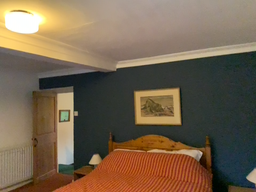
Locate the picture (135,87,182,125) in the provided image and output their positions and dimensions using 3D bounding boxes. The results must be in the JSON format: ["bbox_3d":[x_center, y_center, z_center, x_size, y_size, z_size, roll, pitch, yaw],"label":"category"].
[{"bbox_3d":[0.460,0.160,3.360,0.760,0.570,0.030,-3,-3,27],"label":"picture"}]

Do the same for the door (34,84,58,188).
[{"bbox_3d":[-1.760,0.800,4.600,0.070,2.080,0.690,-2,-3,17],"label":"door"}]
